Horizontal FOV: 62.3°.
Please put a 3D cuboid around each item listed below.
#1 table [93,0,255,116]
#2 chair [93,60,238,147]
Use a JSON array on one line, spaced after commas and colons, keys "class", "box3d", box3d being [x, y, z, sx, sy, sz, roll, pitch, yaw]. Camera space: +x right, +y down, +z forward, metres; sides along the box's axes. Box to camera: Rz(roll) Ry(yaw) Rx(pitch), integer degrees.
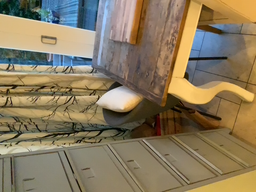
[{"class": "table", "box3d": [0.440, -0.880, 1.230, 0.850, 0.810, 1.780, 28, 112, 55]}, {"class": "chair", "box3d": [0.250, 0.020, 1.510, 0.540, 0.800, 0.370, 33, 116, 54]}]
